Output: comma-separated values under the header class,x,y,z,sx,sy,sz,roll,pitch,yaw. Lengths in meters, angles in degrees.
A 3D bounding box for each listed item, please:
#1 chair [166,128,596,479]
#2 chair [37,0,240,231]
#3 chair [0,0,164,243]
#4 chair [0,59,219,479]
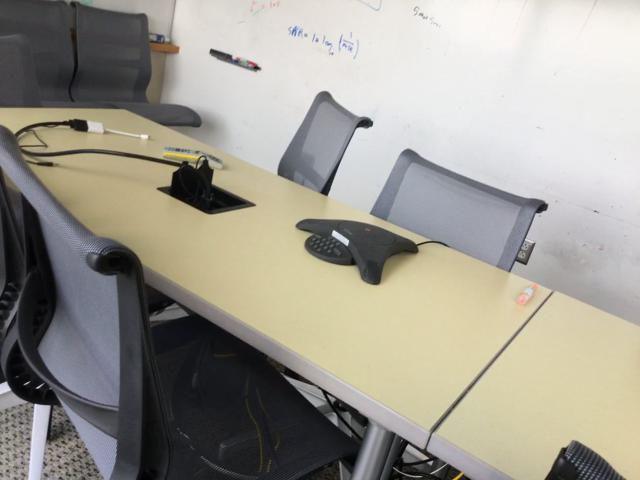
class,x,y,z,sx,sy,sz,roll,pitch,yaw
chair,0.130,0.250,1.530,0.640,0.890,0.670,30,25,35
chair,-0.940,-0.630,2.970,0.580,0.940,0.650,27,23,28
chair,-1.230,-0.570,2.600,0.580,0.930,0.670,27,23,28
chair,-0.670,0.110,1.280,0.540,0.890,0.480,27,23,28
